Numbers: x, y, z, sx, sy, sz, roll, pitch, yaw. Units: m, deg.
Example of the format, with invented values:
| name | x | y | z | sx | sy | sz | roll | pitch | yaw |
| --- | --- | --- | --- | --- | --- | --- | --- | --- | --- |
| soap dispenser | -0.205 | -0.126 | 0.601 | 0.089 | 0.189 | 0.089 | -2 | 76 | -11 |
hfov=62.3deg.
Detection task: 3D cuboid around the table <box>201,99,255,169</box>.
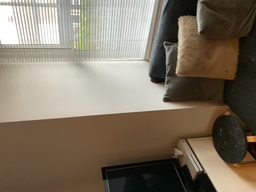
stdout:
| name | x | y | z | sx | sy | sz | roll | pitch | yaw |
| --- | --- | --- | --- | --- | --- | --- | --- | --- | --- |
| table | 0.900 | 0.270 | 1.610 | 0.350 | 0.460 | 0.340 | -111 | 24 | -50 |
